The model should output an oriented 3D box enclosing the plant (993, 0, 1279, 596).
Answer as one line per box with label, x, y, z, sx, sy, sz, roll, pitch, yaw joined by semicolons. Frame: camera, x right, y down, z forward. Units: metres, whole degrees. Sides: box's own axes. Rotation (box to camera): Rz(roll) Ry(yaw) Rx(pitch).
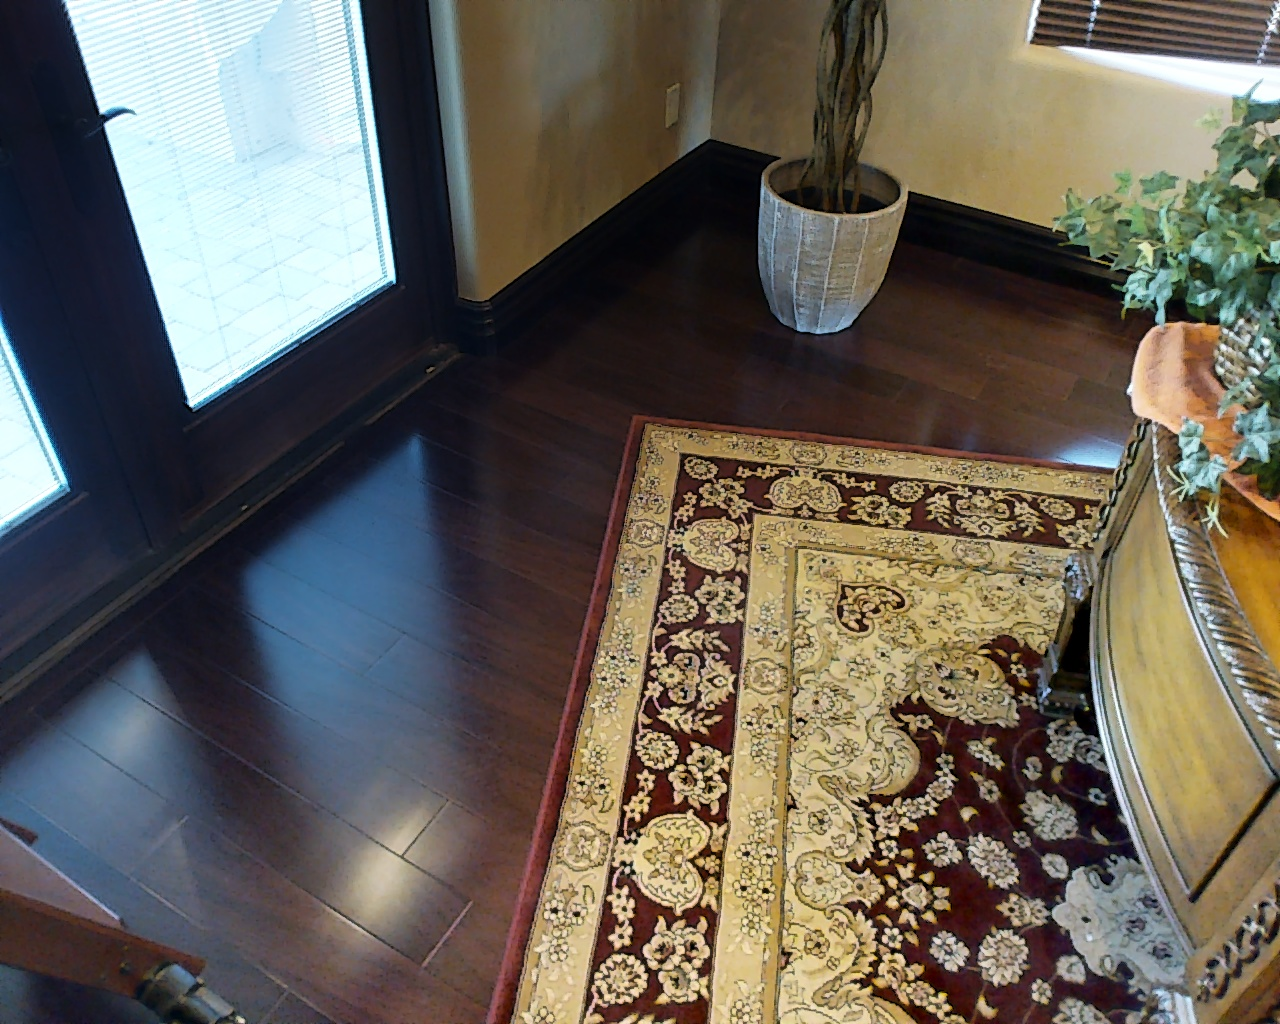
plant;0.850;-0.290;1.280;0.670;0.510;0.620;8;43;6
